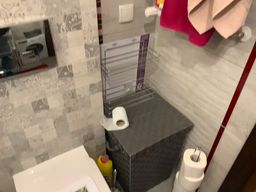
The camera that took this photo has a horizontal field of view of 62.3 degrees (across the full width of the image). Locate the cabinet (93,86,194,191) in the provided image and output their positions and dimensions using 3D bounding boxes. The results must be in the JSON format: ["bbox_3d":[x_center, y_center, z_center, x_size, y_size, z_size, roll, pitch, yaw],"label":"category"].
[{"bbox_3d":[0.070,0.300,1.310,0.410,0.510,0.370,-20,44,-26],"label":"cabinet"}]
